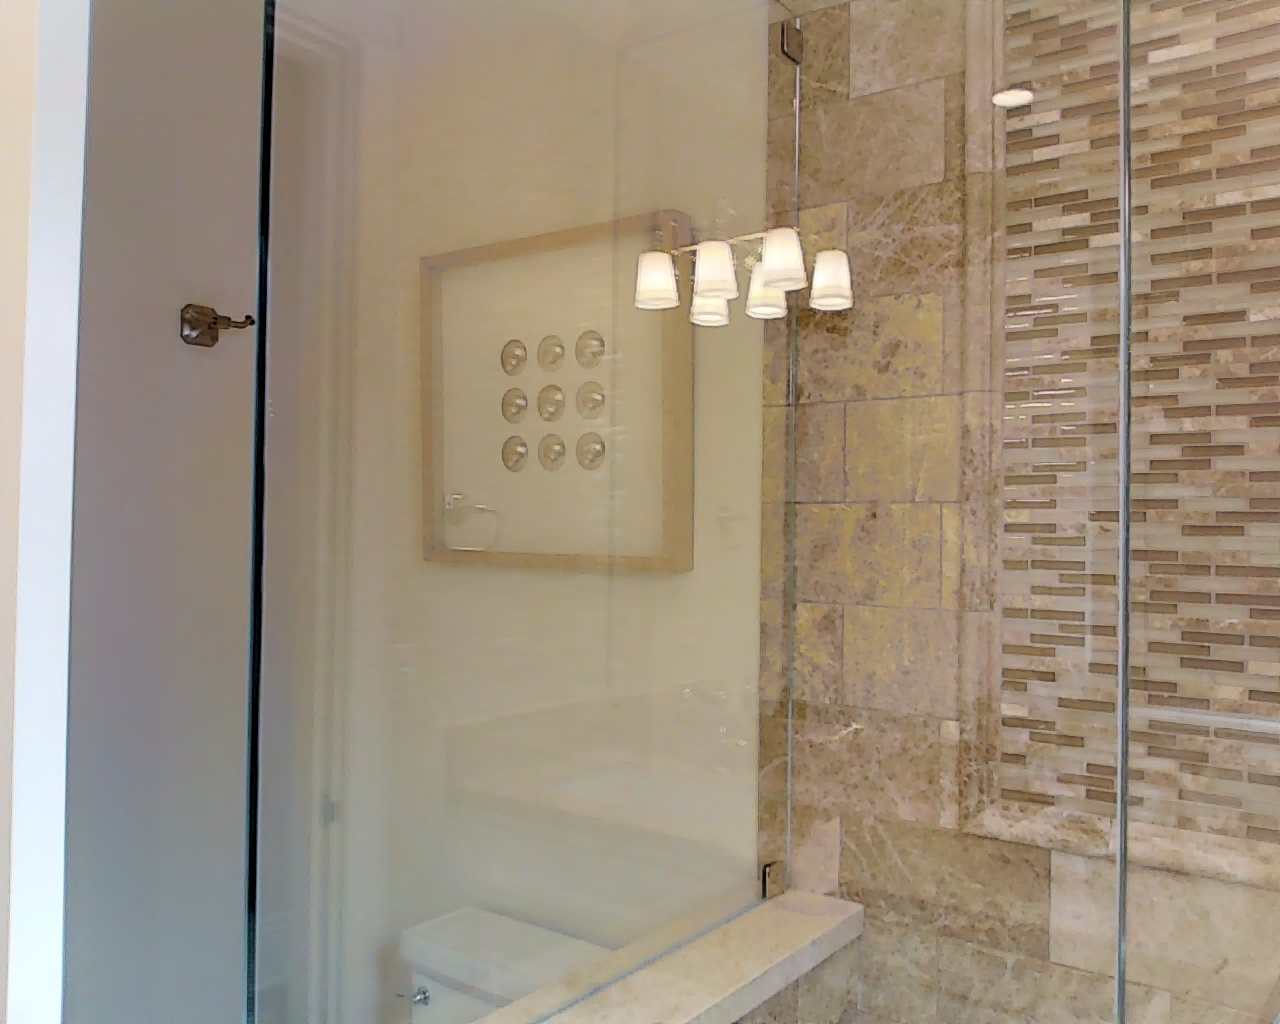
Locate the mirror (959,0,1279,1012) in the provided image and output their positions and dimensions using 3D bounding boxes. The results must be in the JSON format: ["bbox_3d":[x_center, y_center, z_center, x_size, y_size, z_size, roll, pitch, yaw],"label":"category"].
[{"bbox_3d":[0.890,-0.110,1.210,1.060,1.411,0.040,0,0,37],"label":"mirror"}]
